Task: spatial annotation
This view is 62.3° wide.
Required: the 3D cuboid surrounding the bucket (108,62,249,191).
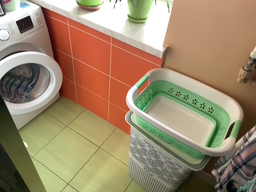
[{"bbox_3d":[0.220,0.300,1.240,0.510,0.760,0.390,28,49,18],"label":"bucket"}]
